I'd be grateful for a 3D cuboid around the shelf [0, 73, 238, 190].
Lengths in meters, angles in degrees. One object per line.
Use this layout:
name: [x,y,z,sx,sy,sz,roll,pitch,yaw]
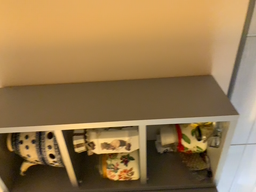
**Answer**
shelf: [-0.080,0.120,0.700,0.200,0.720,0.300,-91,-2,-56]
